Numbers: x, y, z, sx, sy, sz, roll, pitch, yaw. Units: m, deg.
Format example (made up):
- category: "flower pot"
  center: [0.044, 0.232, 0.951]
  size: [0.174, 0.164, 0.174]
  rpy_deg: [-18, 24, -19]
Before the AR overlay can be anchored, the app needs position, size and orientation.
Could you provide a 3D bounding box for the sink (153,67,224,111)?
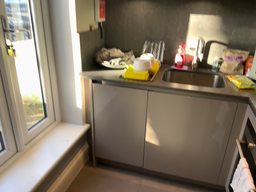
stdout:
- category: "sink"
  center: [0.490, -0.080, 1.760]
  size: [0.490, 0.180, 0.390]
  rpy_deg: [9, 25, 14]
